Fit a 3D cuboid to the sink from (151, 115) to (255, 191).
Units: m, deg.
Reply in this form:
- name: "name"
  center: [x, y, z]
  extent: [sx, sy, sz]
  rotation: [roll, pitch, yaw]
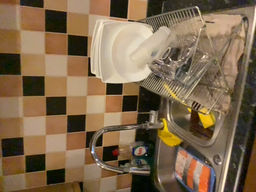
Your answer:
- name: "sink"
  center: [0.320, 0.370, 1.040]
  extent: [0.500, 0.160, 0.400]
  rotation: [-147, 59, -64]
